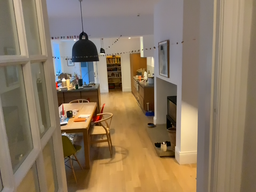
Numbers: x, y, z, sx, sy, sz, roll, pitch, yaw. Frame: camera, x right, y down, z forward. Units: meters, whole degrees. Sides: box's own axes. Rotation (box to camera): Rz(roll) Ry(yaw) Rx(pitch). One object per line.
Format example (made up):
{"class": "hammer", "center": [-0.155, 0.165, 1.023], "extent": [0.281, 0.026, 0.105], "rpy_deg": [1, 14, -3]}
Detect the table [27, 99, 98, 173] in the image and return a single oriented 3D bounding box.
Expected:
{"class": "table", "center": [-1.200, 0.680, 4.490], "extent": [0.890, 0.740, 2.120], "rpy_deg": [-3, 12, -3]}
